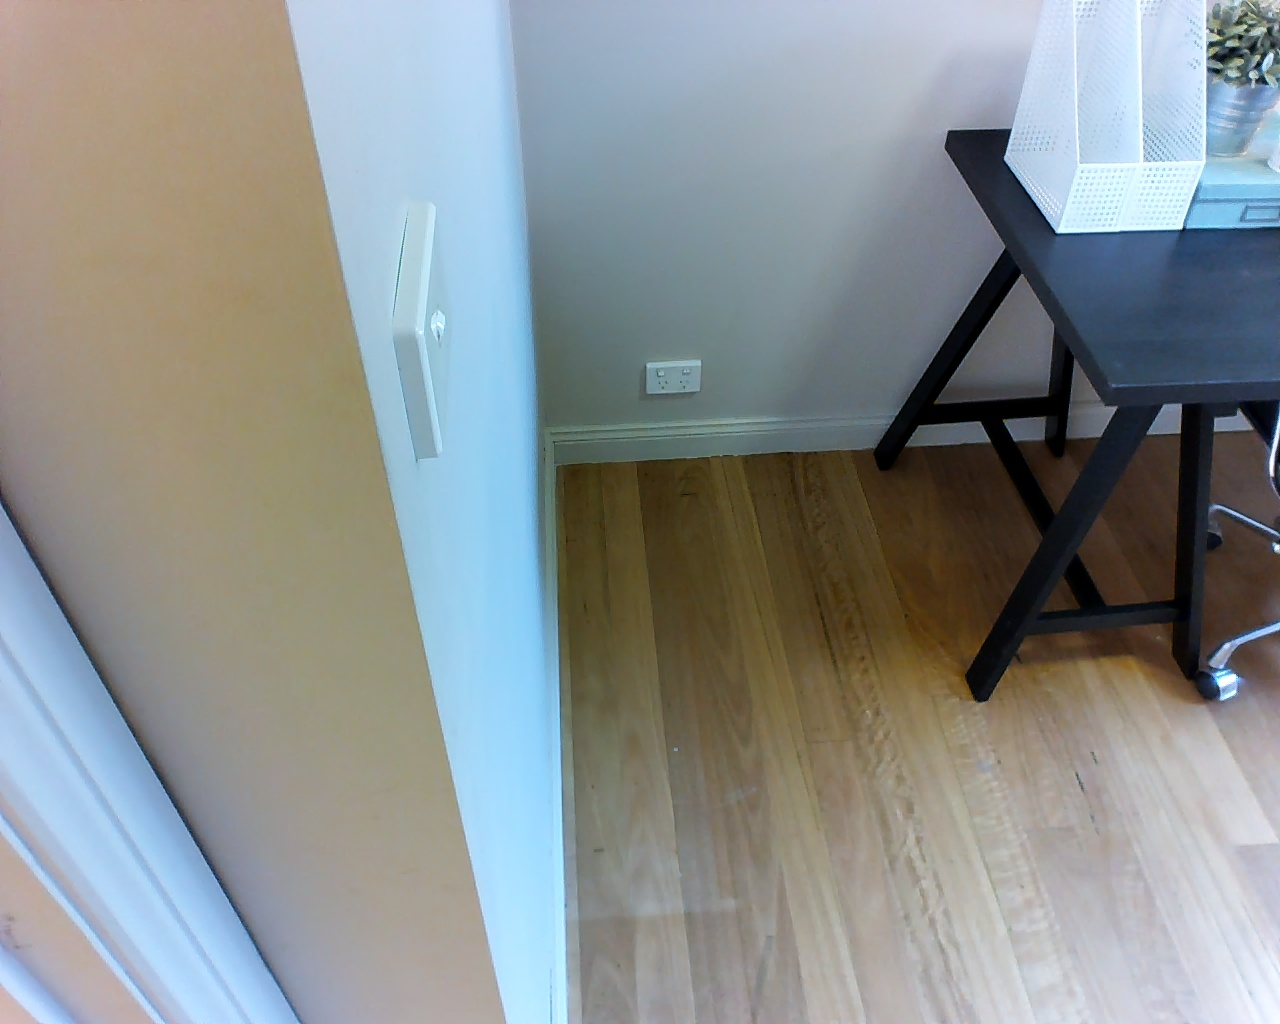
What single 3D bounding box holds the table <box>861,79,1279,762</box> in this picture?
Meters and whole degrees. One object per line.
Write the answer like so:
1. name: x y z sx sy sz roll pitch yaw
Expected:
1. table: 1.210 -0.190 1.880 1.360 0.820 0.810 -4 44 -4
